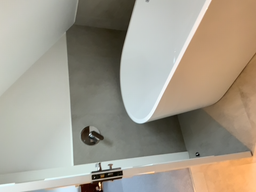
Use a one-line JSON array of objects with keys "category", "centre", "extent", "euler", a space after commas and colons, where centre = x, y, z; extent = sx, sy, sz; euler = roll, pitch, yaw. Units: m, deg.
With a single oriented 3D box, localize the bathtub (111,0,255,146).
[{"category": "bathtub", "centre": [0.430, -0.510, 1.460], "extent": [1.730, 0.580, 0.820], "euler": [111, 150, -41]}]
